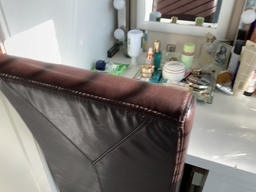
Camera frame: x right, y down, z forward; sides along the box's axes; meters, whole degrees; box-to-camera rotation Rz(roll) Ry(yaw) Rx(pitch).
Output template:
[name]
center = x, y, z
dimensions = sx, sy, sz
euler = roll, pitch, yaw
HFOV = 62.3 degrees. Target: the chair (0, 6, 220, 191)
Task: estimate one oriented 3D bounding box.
[chair]
center = -0.010, 0.270, 0.800
dimensions = 0.390, 1.020, 0.470
euler = 14, 38, 18
